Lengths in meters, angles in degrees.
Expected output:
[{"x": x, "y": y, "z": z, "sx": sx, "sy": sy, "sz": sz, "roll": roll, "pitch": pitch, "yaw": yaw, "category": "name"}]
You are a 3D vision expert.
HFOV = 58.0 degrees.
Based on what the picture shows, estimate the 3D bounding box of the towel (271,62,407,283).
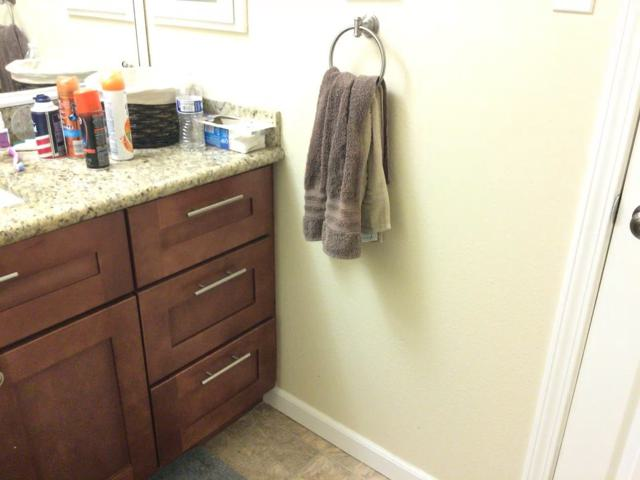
[{"x": 0.040, "y": -0.170, "z": 1.370, "sx": 0.260, "sy": 0.460, "sz": 0.160, "roll": 18, "pitch": 28, "yaw": 37, "category": "towel"}]
